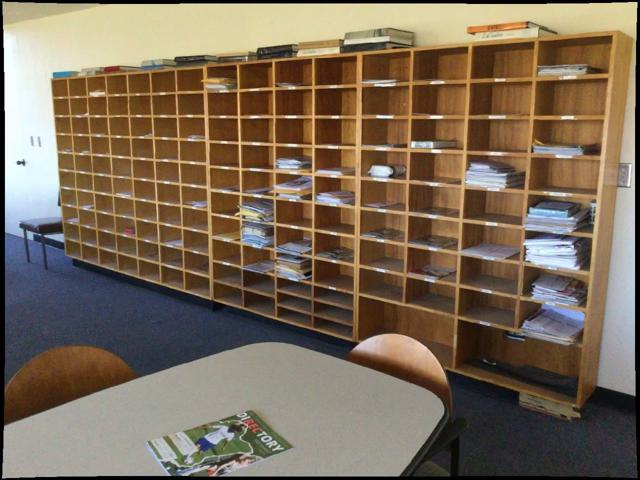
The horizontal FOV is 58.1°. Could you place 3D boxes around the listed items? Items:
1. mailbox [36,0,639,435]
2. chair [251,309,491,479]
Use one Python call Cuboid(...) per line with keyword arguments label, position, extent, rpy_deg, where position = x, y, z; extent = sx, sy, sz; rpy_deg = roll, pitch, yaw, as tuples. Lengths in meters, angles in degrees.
Cuboid(label="mailbox", position=(-0.489, -0.451, 4.160), extent=(4.803, 1.965, 0.589), rpy_deg=(11, 17, 37))
Cuboid(label="chair", position=(0.170, 0.712, 1.870), extent=(0.499, 0.752, 0.589), rpy_deg=(11, 17, 37))
